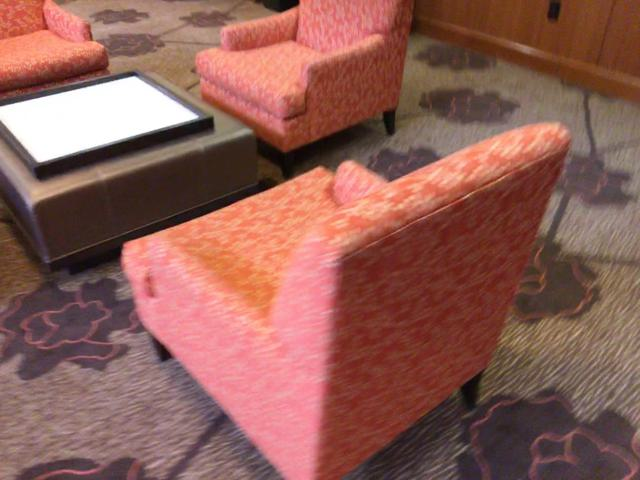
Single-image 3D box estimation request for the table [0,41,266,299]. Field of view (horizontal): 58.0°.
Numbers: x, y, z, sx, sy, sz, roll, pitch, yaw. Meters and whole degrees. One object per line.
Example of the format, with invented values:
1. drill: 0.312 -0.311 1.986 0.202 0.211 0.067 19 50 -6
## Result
1. table: -0.890 -0.380 2.440 0.930 0.460 0.950 -27 47 -32
